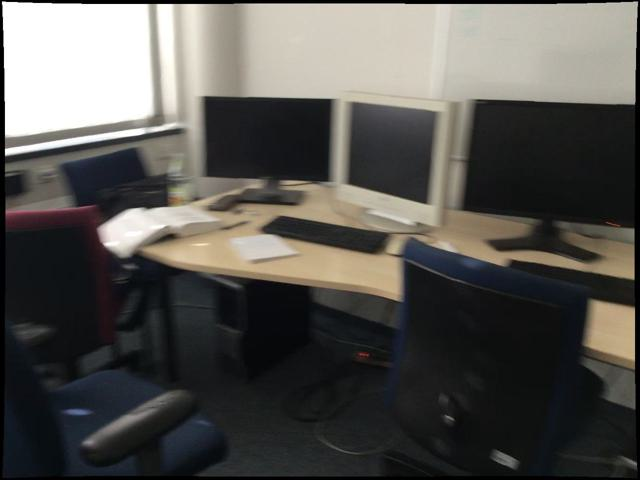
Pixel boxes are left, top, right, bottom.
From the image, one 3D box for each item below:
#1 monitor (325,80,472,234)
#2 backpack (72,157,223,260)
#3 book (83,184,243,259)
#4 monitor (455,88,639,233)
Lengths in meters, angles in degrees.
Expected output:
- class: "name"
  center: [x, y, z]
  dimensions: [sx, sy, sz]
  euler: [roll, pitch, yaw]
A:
- class: "monitor"
  center: [0.250, -0.310, 2.040]
  dimensions: [0.150, 0.440, 0.510]
  euler: [-20, 29, -41]
- class: "backpack"
  center: [-0.749, -0.160, 2.560]
  dimensions: [0.400, 0.270, 0.470]
  euler: [16, 27, 34]
- class: "book"
  center: [-0.549, -0.080, 2.030]
  dimensions: [0.420, 0.080, 0.360]
  euler: [-17, 28, -37]
- class: "monitor"
  center: [0.739, -0.260, 1.790]
  dimensions: [0.570, 0.360, 0.210]
  euler: [9, 24, 21]
